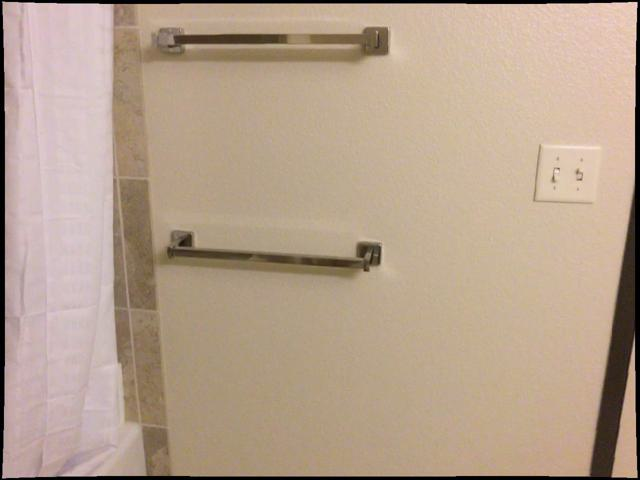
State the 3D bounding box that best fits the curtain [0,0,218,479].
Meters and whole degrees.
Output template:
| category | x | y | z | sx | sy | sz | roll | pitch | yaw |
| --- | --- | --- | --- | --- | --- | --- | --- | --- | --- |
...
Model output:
| category | x | y | z | sx | sy | sz | roll | pitch | yaw |
| --- | --- | --- | --- | --- | --- | --- | --- | --- | --- |
| curtain | -0.529 | -0.190 | 1.140 | 0.239 | 1.935 | 0.480 | -3 | 15 | 10 |
